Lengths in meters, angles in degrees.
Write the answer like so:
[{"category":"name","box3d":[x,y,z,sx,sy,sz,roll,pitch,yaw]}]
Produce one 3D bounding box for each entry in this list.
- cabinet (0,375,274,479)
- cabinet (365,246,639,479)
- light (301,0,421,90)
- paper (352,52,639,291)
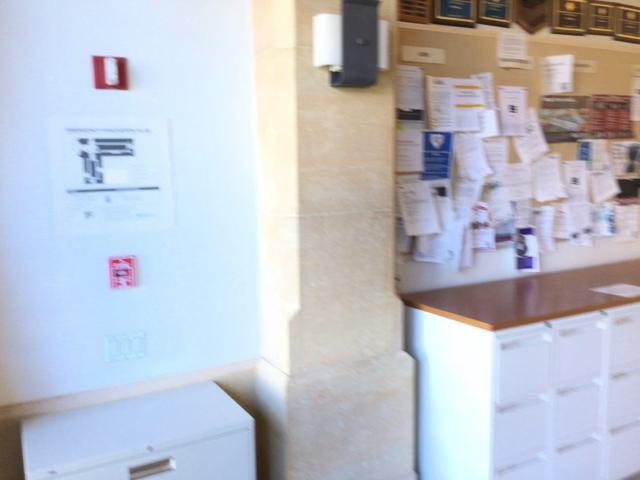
[{"category":"cabinet","box3d":[-0.660,1.020,2.120,0.860,0.750,0.570,-7,6,-26]},{"category":"cabinet","box3d":[1.500,0.670,3.190,2.400,1.030,0.740,-7,6,-26]},{"category":"light","box3d":[0.170,-0.790,2.340,0.460,0.340,0.130,-7,6,-26]},{"category":"paper","box3d":[1.280,-0.440,3.320,2.360,1.120,0.150,-7,6,-26]}]
